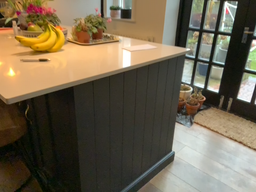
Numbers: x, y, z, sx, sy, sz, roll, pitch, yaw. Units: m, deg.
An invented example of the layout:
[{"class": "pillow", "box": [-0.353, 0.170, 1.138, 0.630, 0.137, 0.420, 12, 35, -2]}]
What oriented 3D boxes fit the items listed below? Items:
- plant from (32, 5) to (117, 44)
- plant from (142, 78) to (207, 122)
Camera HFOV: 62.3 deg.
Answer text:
[{"class": "plant", "box": [-0.370, -0.530, 1.510, 0.400, 0.200, 0.430, 24, 33, 39]}, {"class": "plant", "box": [0.540, 0.020, 2.510, 0.530, 0.220, 0.520, 24, 33, 39]}]
